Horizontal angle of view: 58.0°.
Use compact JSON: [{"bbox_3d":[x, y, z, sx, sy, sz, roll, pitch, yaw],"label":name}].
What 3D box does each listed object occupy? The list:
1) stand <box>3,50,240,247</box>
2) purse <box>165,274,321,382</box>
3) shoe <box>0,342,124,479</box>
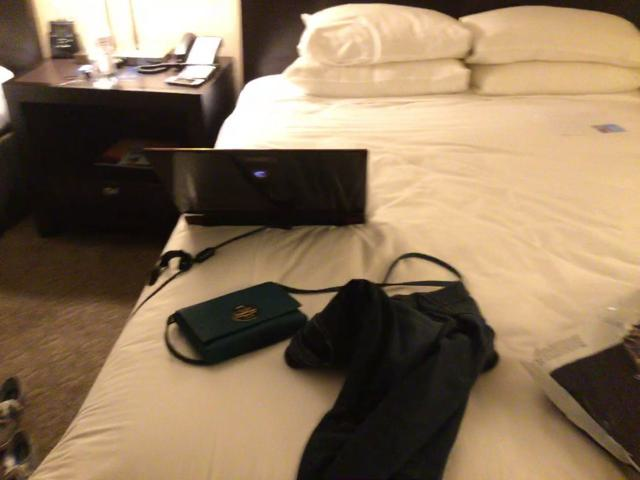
[{"bbox_3d":[-0.760,-0.390,2.420,0.760,0.620,0.460,5,32,2],"label":"stand"},{"bbox_3d":[-0.130,0.140,0.980,0.220,0.040,0.140,-16,38,-30],"label":"purse"},{"bbox_3d":[-0.790,0.500,1.580,0.300,0.070,0.520,7,32,3],"label":"shoe"}]
